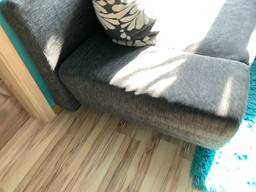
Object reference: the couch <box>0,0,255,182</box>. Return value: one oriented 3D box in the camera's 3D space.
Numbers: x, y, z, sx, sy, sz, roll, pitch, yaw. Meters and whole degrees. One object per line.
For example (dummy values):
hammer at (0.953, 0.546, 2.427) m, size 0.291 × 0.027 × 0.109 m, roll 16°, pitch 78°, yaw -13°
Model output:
couch at (0.360, -0.690, 1.430) m, size 0.990 × 0.760 × 2.000 m, roll 18°, pitch 54°, yaw 19°

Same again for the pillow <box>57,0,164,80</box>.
pillow at (-0.010, -0.490, 1.090) m, size 0.260 × 0.430 × 0.720 m, roll 3°, pitch 49°, yaw 18°
